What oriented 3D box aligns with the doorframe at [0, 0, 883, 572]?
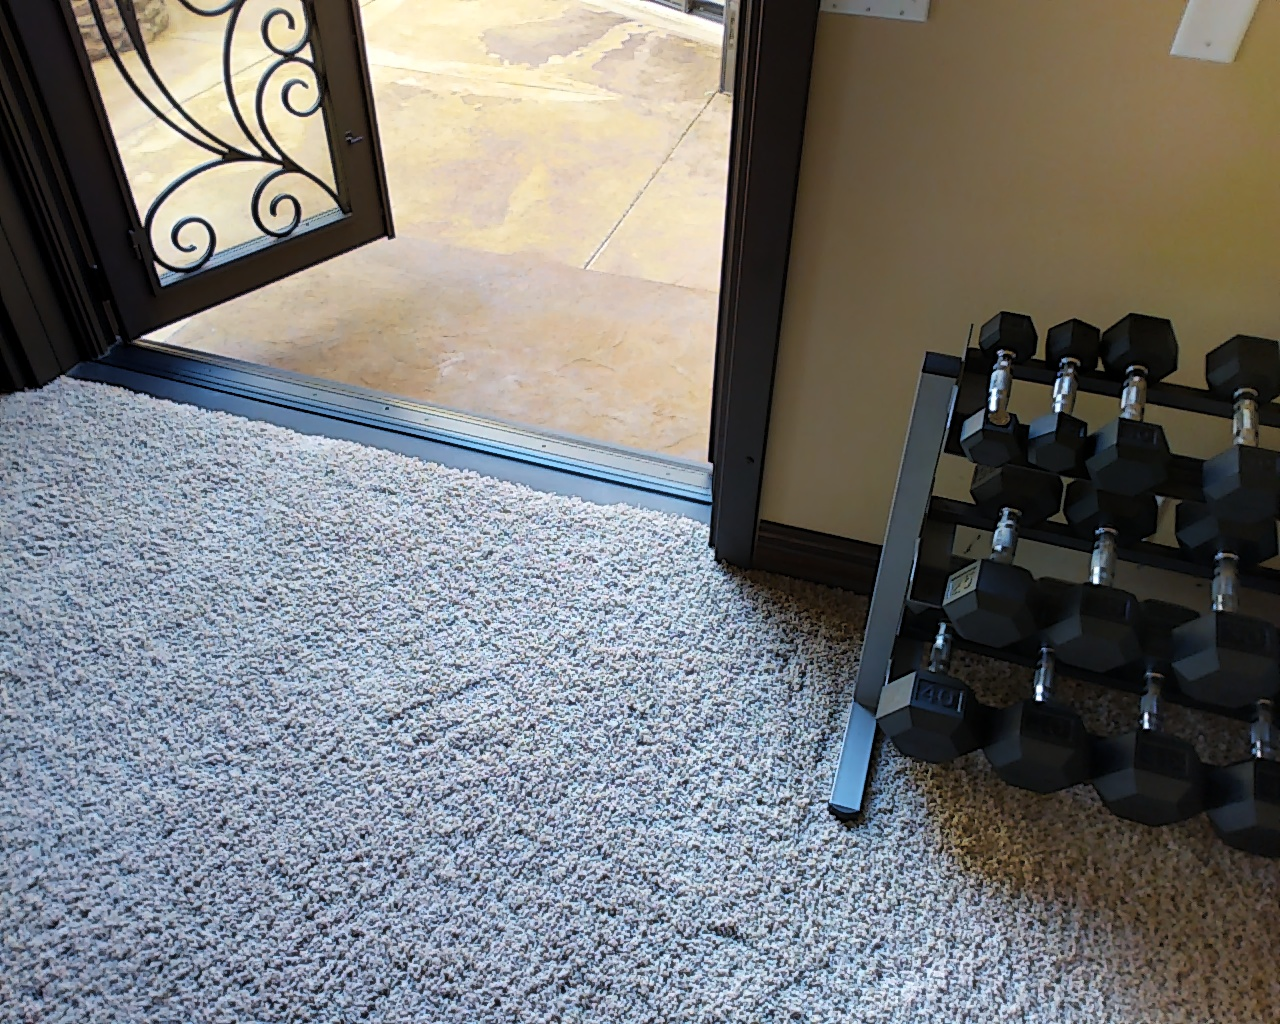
[{"bbox_3d":[-0.550,-1.090,1.750,1.881,2.349,0.450,13,44,14],"label":"doorframe"}]
